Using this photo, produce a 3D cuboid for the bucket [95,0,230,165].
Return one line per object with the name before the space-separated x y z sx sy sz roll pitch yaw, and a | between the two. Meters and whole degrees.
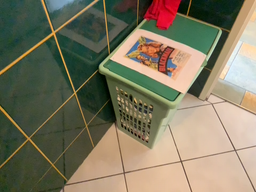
bucket | 0.150 -0.040 1.040 0.320 0.580 0.490 28 60 17
